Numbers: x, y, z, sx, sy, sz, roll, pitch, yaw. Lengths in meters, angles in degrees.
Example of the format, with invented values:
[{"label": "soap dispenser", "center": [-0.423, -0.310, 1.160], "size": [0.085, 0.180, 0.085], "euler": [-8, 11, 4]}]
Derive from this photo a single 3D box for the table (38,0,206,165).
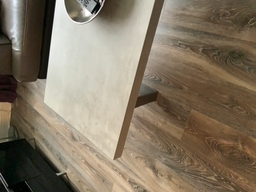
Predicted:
[{"label": "table", "center": [-0.040, -0.450, 1.080], "size": [0.690, 0.390, 1.320], "euler": [28, 112, 35]}]
